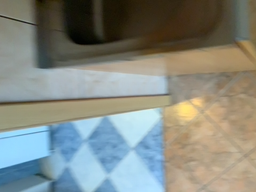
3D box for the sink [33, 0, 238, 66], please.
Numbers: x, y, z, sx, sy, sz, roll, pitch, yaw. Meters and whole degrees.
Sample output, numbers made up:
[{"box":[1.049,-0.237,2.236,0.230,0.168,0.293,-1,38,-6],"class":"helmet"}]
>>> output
[{"box":[-0.010,-0.290,0.530,0.480,0.200,0.370,-1,91,35],"class":"sink"}]
